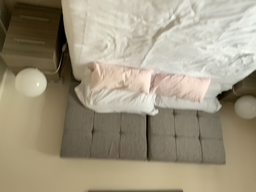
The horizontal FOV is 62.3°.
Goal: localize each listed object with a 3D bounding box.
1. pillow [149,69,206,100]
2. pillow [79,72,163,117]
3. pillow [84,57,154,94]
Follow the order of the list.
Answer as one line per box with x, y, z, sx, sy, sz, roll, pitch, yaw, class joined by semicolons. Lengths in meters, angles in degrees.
0.450;-0.100;1.940;0.490;0.240;0.090;1;-159;-17;pillow
-0.070;-0.010;1.980;0.730;0.330;0.130;5;-161;-7;pillow
-0.080;-0.170;1.800;0.560;0.240;0.130;5;-165;-9;pillow
